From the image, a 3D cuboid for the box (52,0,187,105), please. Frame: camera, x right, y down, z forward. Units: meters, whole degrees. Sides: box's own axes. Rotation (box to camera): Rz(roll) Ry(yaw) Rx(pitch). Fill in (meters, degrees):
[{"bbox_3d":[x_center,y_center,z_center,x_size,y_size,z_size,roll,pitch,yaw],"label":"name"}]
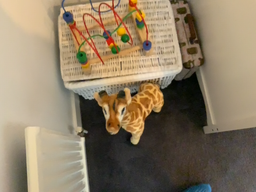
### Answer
[{"bbox_3d":[-0.050,-0.260,1.160,0.550,0.430,0.470,-8,77,-1],"label":"box"}]
